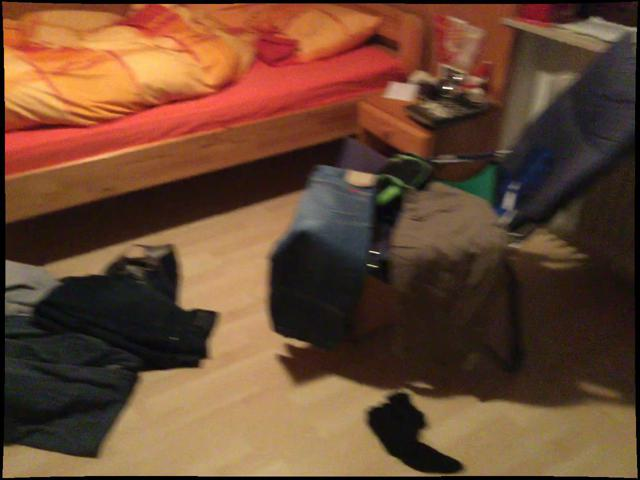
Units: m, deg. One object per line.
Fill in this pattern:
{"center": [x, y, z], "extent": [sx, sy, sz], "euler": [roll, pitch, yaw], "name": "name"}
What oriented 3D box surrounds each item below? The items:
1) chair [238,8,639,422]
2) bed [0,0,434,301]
{"center": [0.410, -0.130, 1.770], "extent": [1.029, 0.891, 0.770], "euler": [7, 36, 11], "name": "chair"}
{"center": [-0.859, -0.701, 2.740], "extent": [2.238, 0.781, 1.500], "euler": [-19, 39, -23], "name": "bed"}
